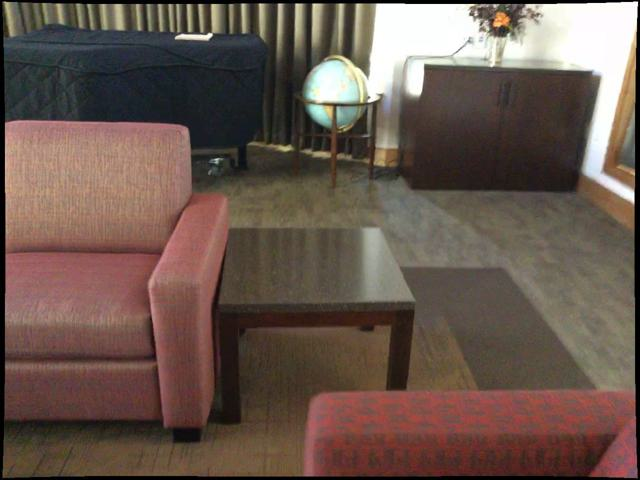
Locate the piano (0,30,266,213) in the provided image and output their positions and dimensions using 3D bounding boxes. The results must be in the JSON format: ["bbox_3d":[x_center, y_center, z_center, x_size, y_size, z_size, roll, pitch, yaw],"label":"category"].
[{"bbox_3d":[-1.289,-0.761,3.520,1.838,0.851,0.940,-2,26,-2],"label":"piano"}]

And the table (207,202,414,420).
[{"bbox_3d":[-0.040,0.220,2.160,0.619,0.460,0.740,-2,26,-2],"label":"table"}]

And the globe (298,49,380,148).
[{"bbox_3d":[0.120,-1.051,4.230,0.539,0.580,0.590,-2,26,-2],"label":"globe"}]
